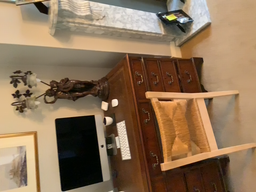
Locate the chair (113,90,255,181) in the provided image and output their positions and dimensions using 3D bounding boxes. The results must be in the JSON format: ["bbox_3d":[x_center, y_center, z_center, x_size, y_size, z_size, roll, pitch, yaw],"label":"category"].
[{"bbox_3d":[0.400,0.260,1.490,0.450,0.830,0.450,-40,58,56],"label":"chair"}]
